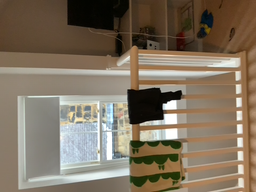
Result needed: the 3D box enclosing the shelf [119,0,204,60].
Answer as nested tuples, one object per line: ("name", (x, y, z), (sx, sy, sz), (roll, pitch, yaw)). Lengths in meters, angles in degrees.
("shelf", (0.330, -1.480, 2.290), (0.390, 0.800, 2.090), (178, 91, -72))
